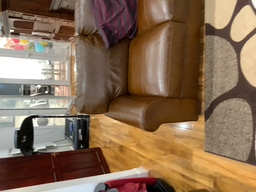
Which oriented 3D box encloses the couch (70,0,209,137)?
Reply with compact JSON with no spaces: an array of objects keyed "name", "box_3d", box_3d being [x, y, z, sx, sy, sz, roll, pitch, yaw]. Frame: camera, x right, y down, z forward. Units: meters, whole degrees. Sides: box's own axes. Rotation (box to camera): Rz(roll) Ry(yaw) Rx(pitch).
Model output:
[{"name":"couch","box_3d":[0.030,-0.570,1.900,0.970,0.840,1.620,4,93,62]}]
